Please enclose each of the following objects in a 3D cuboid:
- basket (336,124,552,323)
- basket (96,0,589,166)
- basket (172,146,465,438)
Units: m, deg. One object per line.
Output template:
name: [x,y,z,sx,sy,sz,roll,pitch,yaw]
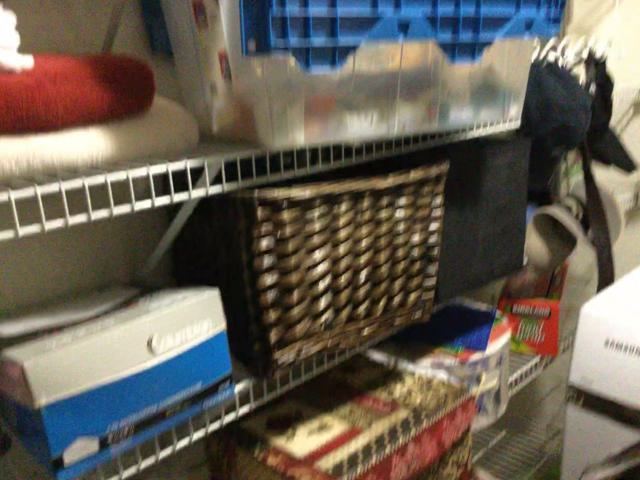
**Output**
basket: [0.260,-0.060,1.180,0.340,0.310,0.270,-17,18,-40]
basket: [0.040,-0.330,0.910,0.570,0.330,0.510,-17,18,-40]
basket: [0.030,0.040,0.880,0.440,0.310,0.140,-17,18,-40]
